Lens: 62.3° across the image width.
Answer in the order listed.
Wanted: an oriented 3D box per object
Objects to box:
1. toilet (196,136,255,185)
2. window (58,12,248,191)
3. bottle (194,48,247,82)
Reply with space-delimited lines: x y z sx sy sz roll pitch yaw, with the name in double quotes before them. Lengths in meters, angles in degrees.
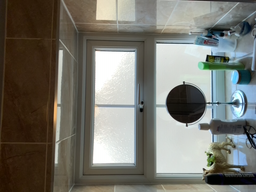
"toilet" 0.510 0.330 1.130 0.220 0.210 0.210 116 154 -84
"window" 0.140 0.050 1.200 0.120 0.990 1.000 119 152 -84
"bottle" 0.490 -0.160 1.150 0.220 0.180 0.160 -133 44 -86
